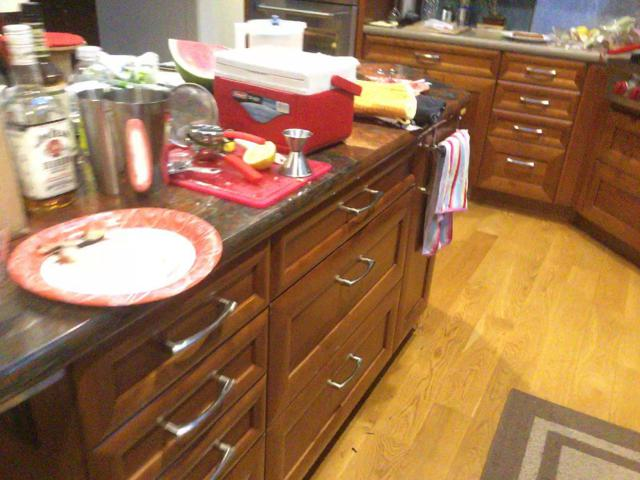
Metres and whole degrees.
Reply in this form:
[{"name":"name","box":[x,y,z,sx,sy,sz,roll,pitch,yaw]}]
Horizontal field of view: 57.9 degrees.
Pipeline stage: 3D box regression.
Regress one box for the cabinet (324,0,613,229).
[{"name":"cabinet","box":[0.670,-0.690,3.020,1.320,0.940,0.190,18,32,25]}]

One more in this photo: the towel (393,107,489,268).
[{"name":"towel","box":[0.360,-0.160,1.750,0.170,0.420,0.190,18,32,25]}]
